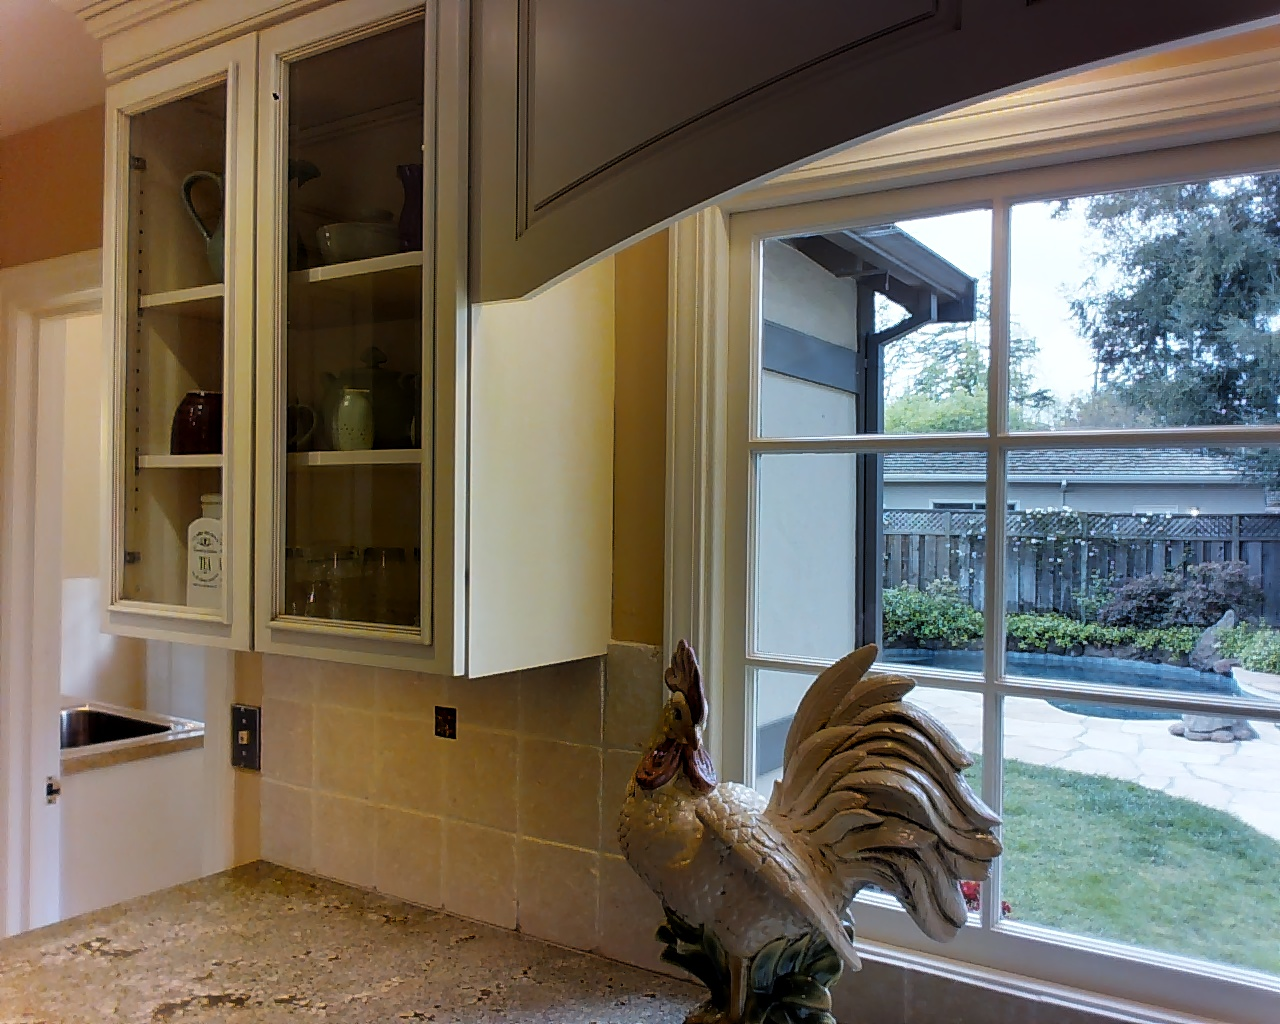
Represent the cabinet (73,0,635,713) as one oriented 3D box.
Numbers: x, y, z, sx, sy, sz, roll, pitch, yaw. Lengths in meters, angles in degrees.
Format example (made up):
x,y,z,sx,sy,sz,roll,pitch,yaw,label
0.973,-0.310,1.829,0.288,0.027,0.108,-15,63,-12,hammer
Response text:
x,y,z,sx,sy,sz,roll,pitch,yaw,label
-0.450,-0.250,1.620,0.810,0.960,0.360,1,0,33,cabinet
